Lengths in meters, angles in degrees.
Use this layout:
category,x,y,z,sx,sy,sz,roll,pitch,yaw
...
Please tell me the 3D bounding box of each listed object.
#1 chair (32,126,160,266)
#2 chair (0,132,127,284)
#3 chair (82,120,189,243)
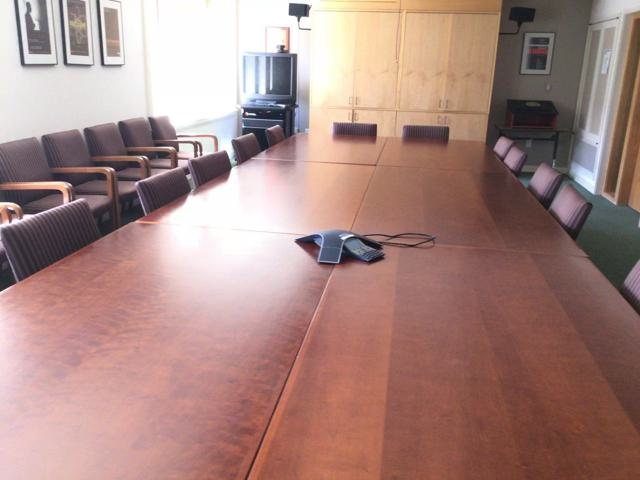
category,x,y,z,sx,sy,sz,roll,pitch,yaw
chair,-1.550,-0.340,4.100,0.550,0.850,0.620,5,16,10
chair,-1.640,-0.230,3.660,0.570,0.830,0.540,5,16,10
chair,-1.440,-0.490,4.610,0.560,0.860,0.600,5,16,10
